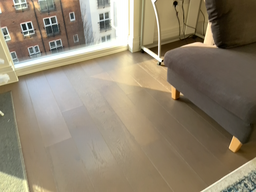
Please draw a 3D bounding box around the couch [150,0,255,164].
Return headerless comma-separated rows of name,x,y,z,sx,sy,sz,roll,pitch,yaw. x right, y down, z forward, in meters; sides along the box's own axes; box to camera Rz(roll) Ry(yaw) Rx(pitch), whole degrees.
couch,0.840,-0.300,1.540,1.010,0.920,0.830,-18,41,-22
